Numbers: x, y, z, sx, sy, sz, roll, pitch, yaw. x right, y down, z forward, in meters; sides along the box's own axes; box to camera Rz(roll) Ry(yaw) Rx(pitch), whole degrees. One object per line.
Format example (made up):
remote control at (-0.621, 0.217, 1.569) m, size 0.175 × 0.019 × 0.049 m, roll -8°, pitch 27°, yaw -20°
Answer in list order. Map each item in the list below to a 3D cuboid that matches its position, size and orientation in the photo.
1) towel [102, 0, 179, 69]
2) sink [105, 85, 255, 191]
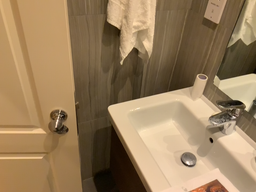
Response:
towel at (0.050, -0.370, 0.830) m, size 0.270 × 0.510 × 0.120 m, roll -10°, pitch 42°, yaw -20°
sink at (0.240, 0.230, 0.870) m, size 0.480 × 0.140 × 0.640 m, roll -12°, pitch 42°, yaw -22°
